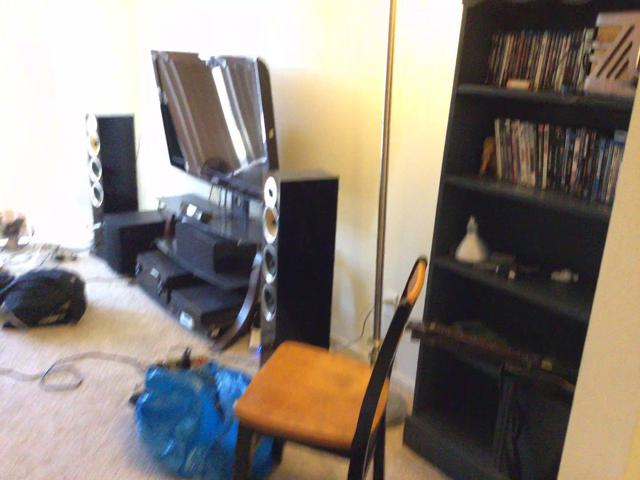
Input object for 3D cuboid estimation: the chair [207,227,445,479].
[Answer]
[{"bbox_3d":[0.040,0.400,1.770,0.540,0.740,0.520,10,11,13],"label":"chair"}]
